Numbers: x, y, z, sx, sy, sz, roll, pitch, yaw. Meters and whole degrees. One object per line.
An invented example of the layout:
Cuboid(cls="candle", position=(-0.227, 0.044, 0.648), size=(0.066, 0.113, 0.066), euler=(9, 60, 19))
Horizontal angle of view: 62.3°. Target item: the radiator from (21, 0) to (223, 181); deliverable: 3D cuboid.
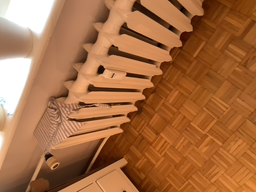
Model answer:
Cuboid(cls="radiator", position=(0.010, -0.160, 1.170), size=(0.180, 0.710, 1.350), euler=(44, 115, 23))
